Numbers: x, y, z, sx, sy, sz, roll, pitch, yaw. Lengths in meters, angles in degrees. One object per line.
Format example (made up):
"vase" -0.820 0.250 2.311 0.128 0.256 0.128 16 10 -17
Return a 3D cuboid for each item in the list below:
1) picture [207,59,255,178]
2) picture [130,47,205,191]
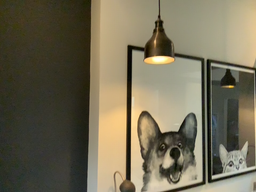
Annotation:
"picture" 0.990 0.200 2.000 0.710 1.010 0.010 2 -3 -32
"picture" 0.320 0.170 1.610 0.640 1.000 0.050 2 -3 -25
